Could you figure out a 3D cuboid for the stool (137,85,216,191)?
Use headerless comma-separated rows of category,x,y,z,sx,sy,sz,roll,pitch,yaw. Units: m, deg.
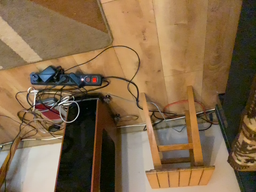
stool,0.240,0.240,1.150,0.300,0.460,0.320,-9,144,9
